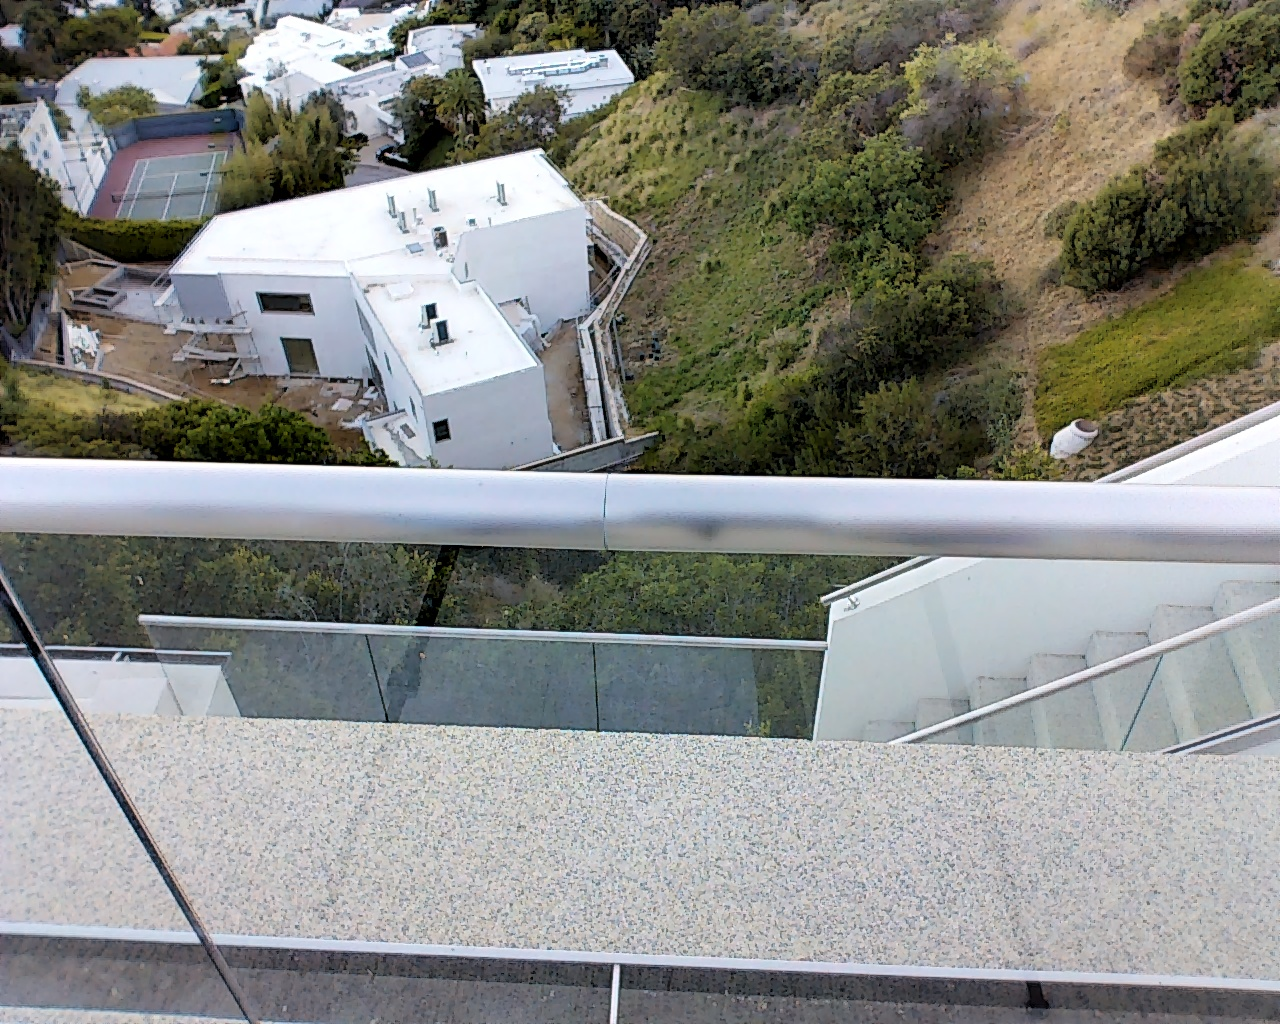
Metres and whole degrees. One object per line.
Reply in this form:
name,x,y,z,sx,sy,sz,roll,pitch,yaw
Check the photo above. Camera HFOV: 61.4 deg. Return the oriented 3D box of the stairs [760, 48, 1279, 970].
stairs,2.600,0.290,4.920,3.789,4.060,1.530,5,42,7
